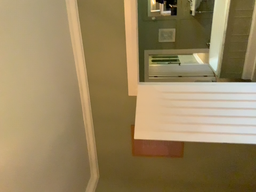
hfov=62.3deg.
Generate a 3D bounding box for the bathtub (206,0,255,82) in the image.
[{"bbox_3d":[1.960,-1.450,3.930,0.950,0.570,2.170,-74,-16,-65],"label":"bathtub"}]
